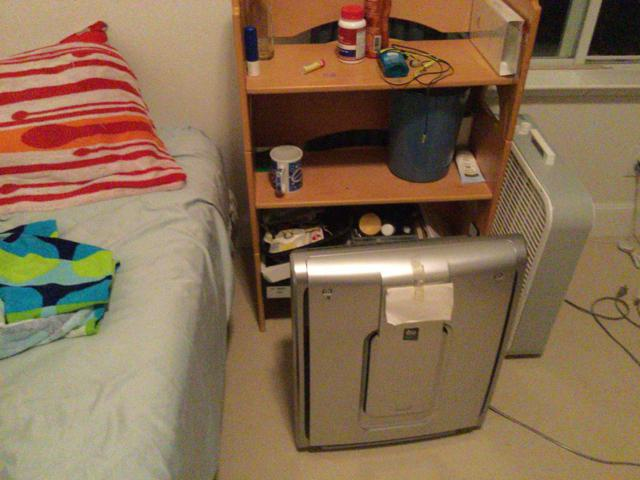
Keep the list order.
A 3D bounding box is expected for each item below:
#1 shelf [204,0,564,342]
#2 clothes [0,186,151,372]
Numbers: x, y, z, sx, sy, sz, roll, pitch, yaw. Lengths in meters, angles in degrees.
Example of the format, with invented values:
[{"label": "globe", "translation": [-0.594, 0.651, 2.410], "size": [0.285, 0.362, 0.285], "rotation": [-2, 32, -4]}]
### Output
[{"label": "shelf", "translation": [0.140, -0.280, 1.510], "size": [0.700, 1.060, 0.420], "rotation": [-3, 35, 1]}, {"label": "clothes", "translation": [-0.650, 0.060, 1.160], "size": [0.500, 0.090, 0.470], "rotation": [-3, 35, 1]}]
